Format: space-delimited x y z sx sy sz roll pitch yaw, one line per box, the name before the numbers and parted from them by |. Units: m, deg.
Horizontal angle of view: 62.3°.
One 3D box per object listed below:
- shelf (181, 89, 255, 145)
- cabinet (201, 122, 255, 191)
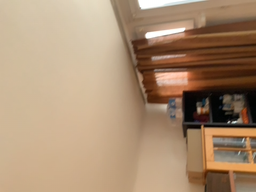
shelf | 1.560 0.200 2.050 0.330 2.000 0.450 69 -154 -45
cabinet | 1.560 0.520 1.710 0.400 1.820 0.450 69 -154 -45
